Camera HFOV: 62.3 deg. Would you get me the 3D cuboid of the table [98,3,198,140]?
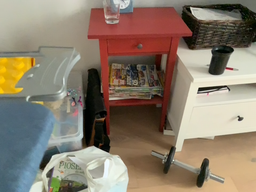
[{"bbox_3d":[0.070,-0.130,1.290,0.430,0.720,0.360,-5,40,-7],"label":"table"}]
